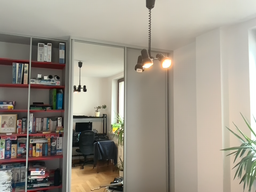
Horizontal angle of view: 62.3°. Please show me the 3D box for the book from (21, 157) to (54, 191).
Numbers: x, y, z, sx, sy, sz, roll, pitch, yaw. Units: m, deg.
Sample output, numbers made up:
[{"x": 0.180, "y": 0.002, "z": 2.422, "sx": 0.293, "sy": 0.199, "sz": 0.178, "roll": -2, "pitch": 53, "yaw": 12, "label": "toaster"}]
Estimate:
[{"x": -1.340, "y": 1.130, "z": 3.120, "sx": 0.410, "sy": 0.340, "sz": 0.420, "roll": 3, "pitch": -4, "yaw": -26, "label": "book"}]

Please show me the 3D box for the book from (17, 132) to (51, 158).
[{"x": -1.380, "y": 0.720, "z": 3.140, "sx": 0.440, "sy": 0.320, "sz": 0.230, "roll": 2, "pitch": -4, "yaw": -22, "label": "book"}]

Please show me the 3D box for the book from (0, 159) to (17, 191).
[{"x": -1.720, "y": 1.110, "z": 2.940, "sx": 0.290, "sy": 0.340, "sz": 0.420, "roll": 2, "pitch": -4, "yaw": -25, "label": "book"}]
